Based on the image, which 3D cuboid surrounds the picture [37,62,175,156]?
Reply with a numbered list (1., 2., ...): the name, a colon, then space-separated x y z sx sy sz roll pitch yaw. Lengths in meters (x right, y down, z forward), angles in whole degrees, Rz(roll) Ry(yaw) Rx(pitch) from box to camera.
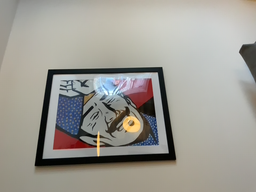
1. picture: -0.130 0.050 1.340 0.040 0.770 0.610 94 174 -63
